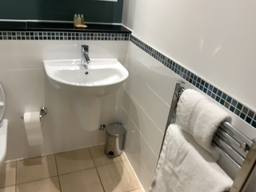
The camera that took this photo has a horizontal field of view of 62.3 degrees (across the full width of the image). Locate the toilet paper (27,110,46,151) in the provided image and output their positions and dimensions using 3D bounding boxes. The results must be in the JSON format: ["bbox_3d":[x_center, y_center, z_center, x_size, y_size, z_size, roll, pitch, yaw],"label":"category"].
[{"bbox_3d":[-0.710,0.270,1.650,0.110,0.310,0.100,-5,31,-22],"label":"toilet paper"}]
